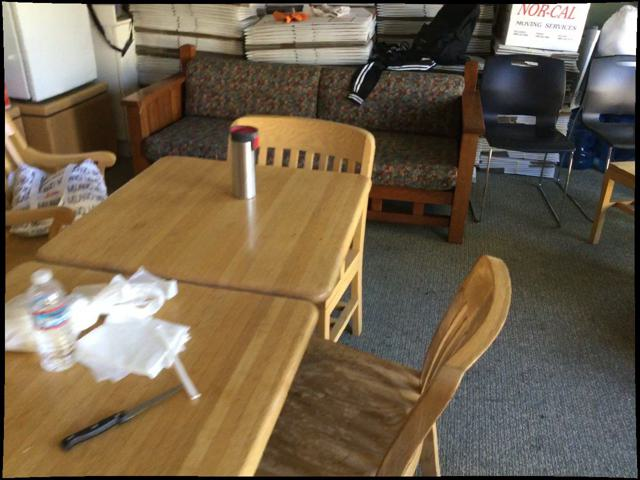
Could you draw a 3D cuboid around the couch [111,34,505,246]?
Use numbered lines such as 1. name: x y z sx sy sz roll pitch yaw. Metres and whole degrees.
1. couch: 0.010 -0.671 3.360 1.928 0.761 1.070 7 31 13
